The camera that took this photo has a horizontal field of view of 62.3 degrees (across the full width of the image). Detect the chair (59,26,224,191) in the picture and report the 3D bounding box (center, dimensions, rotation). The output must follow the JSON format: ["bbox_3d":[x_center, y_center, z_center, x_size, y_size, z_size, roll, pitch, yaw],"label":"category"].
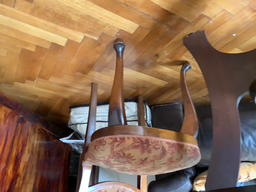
[{"bbox_3d":[0.010,0.280,0.860,0.440,0.870,0.500,14,149,-23],"label":"chair"}]
